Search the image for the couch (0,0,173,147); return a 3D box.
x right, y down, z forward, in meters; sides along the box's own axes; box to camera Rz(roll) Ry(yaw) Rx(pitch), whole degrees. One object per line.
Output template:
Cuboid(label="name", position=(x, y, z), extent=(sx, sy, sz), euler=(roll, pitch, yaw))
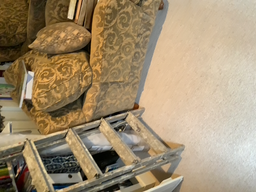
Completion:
Cuboid(label="couch", position=(-0.360, -0.350, 1.620), extent=(0.820, 0.810, 1.080), euler=(26, 106, 42))
